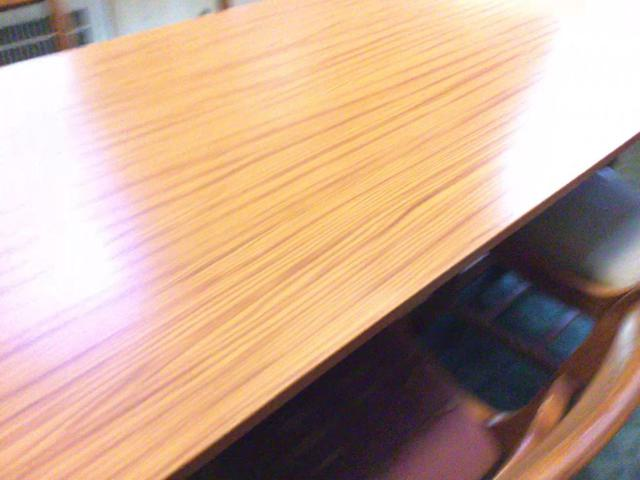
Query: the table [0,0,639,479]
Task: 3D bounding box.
[{"bbox_3d":[0.030,-0.030,1.320,2.140,0.780,0.970,-27,49,-29],"label":"table"}]
